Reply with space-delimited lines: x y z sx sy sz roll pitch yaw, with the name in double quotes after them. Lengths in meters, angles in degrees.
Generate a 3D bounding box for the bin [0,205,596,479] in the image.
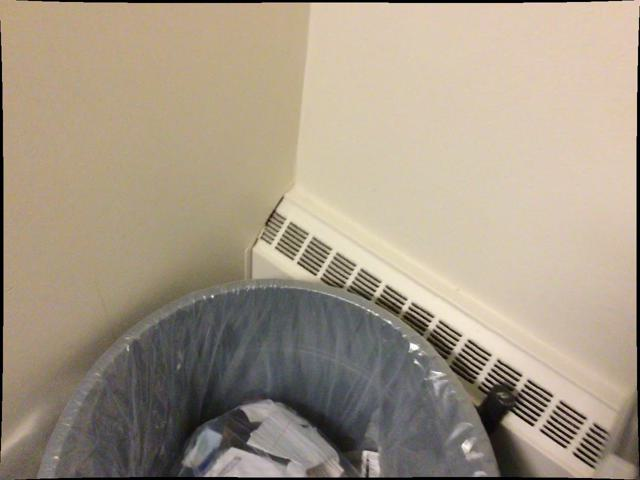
-0.090 0.480 0.920 0.590 0.680 0.600 32 50 20 "bin"
